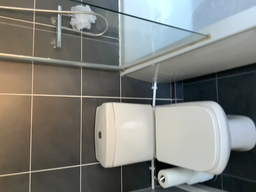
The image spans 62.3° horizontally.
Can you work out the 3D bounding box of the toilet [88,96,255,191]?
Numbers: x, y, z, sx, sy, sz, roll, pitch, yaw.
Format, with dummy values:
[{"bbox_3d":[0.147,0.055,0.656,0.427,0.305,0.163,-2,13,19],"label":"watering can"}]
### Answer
[{"bbox_3d":[0.260,0.230,1.360,0.710,0.810,0.390,-8,82,58],"label":"toilet"}]
